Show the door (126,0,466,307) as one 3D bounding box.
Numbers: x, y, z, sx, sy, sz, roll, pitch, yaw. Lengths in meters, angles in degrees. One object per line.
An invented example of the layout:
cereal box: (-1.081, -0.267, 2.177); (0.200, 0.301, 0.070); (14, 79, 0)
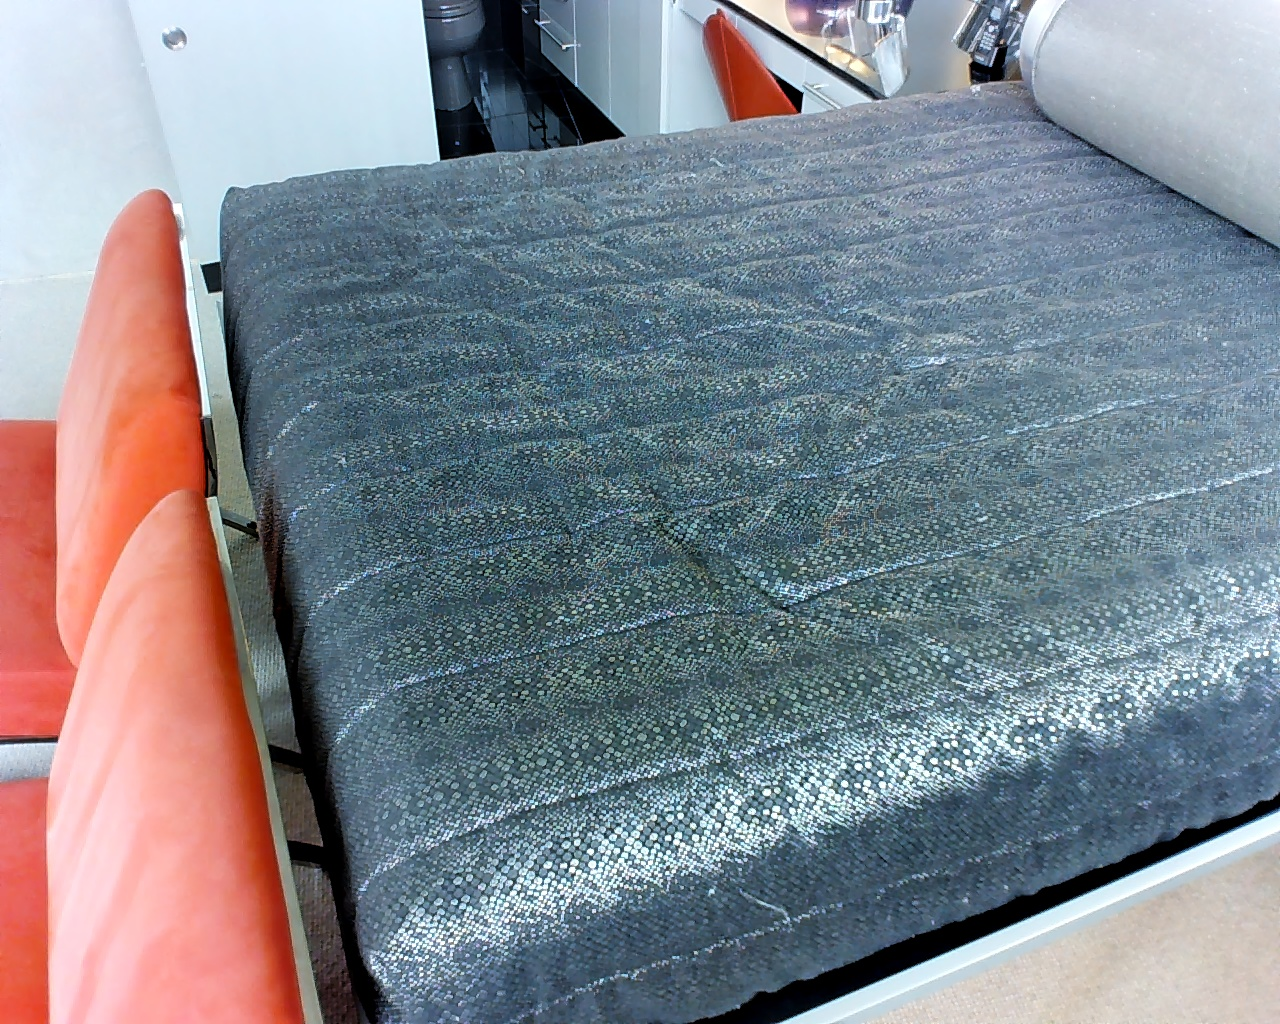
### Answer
door: (-0.930, -1.610, 2.640); (0.790, 2.210, 0.100); (-18, 42, -21)

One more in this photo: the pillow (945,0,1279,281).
pillow: (1.050, -0.640, 1.720); (0.340, 0.330, 1.350); (-14, 40, -17)

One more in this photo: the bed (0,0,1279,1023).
bed: (0.440, -0.210, 1.740); (2.170, 1.270, 1.720); (-14, 40, -17)
